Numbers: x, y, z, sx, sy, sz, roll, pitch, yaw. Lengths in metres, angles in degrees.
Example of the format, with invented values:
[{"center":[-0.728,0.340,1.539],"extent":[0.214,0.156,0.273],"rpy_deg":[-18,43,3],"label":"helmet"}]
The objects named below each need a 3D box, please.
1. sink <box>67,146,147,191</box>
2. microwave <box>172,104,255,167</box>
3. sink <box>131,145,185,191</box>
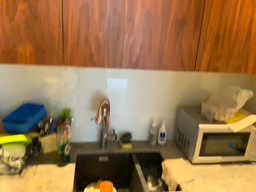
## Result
[{"center":[-0.130,0.490,1.190],"extent":[0.370,0.250,0.370],"rpy_deg":[1,17,-11],"label":"sink"},{"center":[0.570,0.230,1.350],"extent":[0.460,0.280,0.300],"rpy_deg":[1,17,-12],"label":"microwave"},{"center":[0.150,0.460,1.230],"extent":[0.190,0.170,0.380],"rpy_deg":[1,17,-11],"label":"sink"}]
